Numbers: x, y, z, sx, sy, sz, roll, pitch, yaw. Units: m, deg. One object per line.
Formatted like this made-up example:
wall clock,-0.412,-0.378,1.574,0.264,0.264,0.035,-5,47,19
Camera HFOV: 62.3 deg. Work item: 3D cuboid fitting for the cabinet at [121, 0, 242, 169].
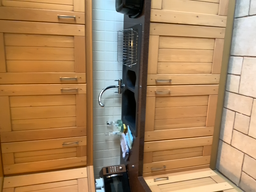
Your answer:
cabinet,0.470,-0.690,2.000,0.560,0.890,2.600,-143,53,-68
